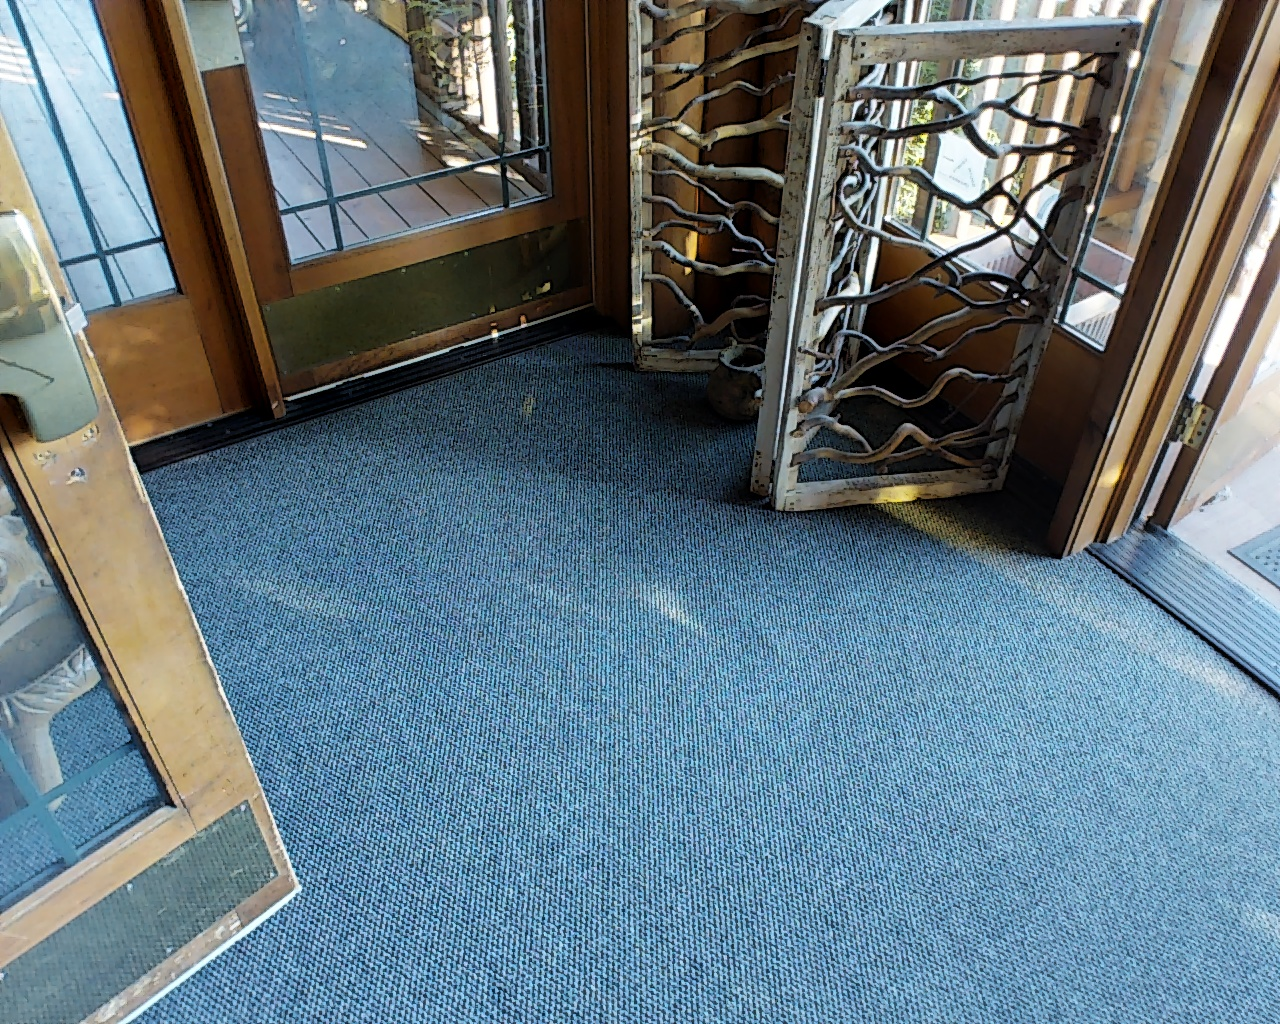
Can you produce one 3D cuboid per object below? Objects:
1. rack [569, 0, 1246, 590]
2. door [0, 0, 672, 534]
[{"bbox_3d":[0.420,-0.680,2.320,0.690,1.100,1.090,-21,46,-24],"label":"rack"},{"bbox_3d":[-0.800,-1.010,1.910,1.910,2.040,0.230,-21,46,-24],"label":"door"}]
